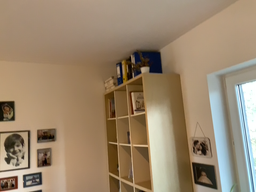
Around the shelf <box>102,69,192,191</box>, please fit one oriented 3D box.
[{"bbox_3d":[0.150,0.900,2.220,0.420,2.130,1.010,0,-9,-26],"label":"shelf"}]
